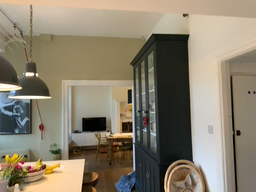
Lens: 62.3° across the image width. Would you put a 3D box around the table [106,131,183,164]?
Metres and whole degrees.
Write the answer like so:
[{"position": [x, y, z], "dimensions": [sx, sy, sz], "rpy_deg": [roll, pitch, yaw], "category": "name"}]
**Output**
[{"position": [0.460, 1.560, 6.650], "dimensions": [2.220, 0.750, 0.930], "rpy_deg": [-1, -3, -10], "category": "table"}]
